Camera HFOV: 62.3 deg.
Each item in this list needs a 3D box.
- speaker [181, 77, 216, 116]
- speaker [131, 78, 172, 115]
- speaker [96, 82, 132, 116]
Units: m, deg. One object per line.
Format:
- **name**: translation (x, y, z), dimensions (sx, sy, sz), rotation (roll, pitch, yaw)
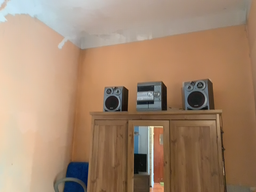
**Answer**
- **speaker**: translation (0.710, 0.020, 2.130), dimensions (0.300, 0.310, 0.350), rotation (-2, -13, 21)
- **speaker**: translation (0.260, 0.020, 2.230), dimensions (0.350, 0.320, 0.340), rotation (-2, -13, 19)
- **speaker**: translation (-0.150, 0.050, 2.500), dimensions (0.300, 0.320, 0.370), rotation (-2, -13, 18)
